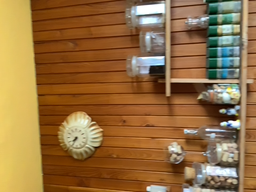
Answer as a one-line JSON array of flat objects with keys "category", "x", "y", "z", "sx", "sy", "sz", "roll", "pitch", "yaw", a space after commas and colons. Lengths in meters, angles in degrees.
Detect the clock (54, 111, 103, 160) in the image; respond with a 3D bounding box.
[{"category": "clock", "x": -0.270, "y": 0.210, "z": 1.160, "sx": 0.060, "sy": 0.260, "sz": 0.240, "roll": -14, "pitch": -76, "yaw": -78}]
